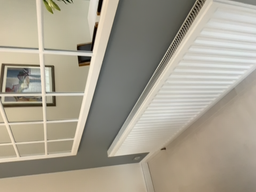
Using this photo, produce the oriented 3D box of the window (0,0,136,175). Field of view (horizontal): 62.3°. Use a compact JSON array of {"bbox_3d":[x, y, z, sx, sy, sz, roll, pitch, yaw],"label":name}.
[{"bbox_3d":[-0.780,0.140,1.420,2.100,1.050,0.180,118,145,-51],"label":"window"}]
